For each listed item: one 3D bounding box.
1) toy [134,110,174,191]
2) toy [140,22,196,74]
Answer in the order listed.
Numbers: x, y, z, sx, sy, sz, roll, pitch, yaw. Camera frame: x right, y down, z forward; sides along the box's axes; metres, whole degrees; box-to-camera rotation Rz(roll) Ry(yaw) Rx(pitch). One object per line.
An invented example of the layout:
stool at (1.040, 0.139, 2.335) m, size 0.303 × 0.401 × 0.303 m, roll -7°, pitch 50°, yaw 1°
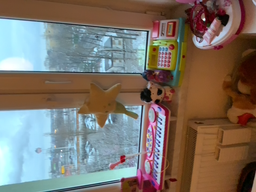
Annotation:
toy at (0.140, 0.390, 1.260) m, size 0.210 × 0.080 × 0.570 m, roll -137°, pitch 49°, yaw -62°
toy at (0.200, -0.260, 1.150) m, size 0.270 × 0.160 × 0.240 m, roll -143°, pitch 55°, yaw -64°
